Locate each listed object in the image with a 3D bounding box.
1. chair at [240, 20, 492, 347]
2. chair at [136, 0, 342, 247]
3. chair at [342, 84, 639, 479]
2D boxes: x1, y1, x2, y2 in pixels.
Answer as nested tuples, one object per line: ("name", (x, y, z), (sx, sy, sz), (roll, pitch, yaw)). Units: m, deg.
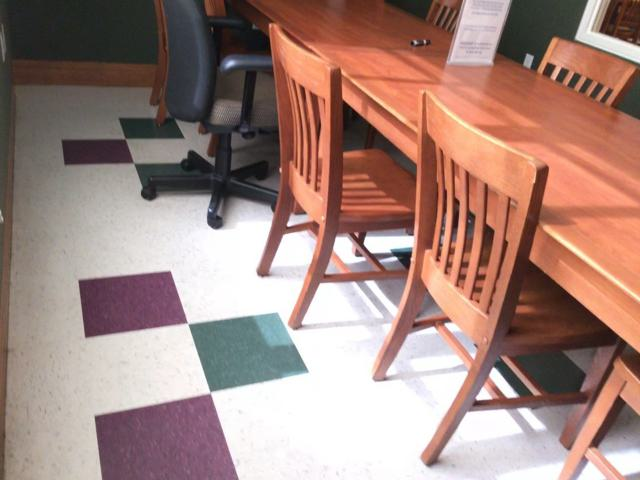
("chair", (0.080, -0.190, 1.890), (0.530, 0.880, 0.500), (-6, 34, -21))
("chair", (-0.390, -0.590, 2.390), (0.610, 0.940, 0.720), (-6, 34, -21))
("chair", (0.480, 0.150, 1.420), (0.540, 0.880, 0.620), (-6, 34, -21))
